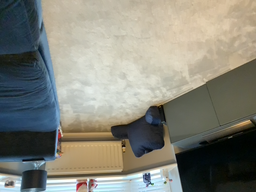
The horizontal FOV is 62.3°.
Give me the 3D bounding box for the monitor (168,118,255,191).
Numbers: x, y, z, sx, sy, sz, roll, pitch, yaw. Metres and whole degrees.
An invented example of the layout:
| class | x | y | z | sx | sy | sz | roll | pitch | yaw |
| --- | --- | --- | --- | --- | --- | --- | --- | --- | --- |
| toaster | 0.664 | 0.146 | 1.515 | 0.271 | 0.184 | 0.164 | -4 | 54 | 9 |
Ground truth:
| class | x | y | z | sx | sy | sz | roll | pitch | yaw |
| --- | --- | --- | --- | --- | --- | --- | --- | --- | --- |
| monitor | 0.950 | 0.650 | 1.830 | 1.240 | 0.760 | 0.080 | -29 | 142 | 34 |
